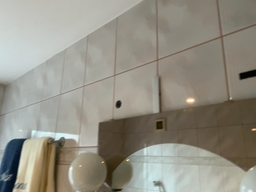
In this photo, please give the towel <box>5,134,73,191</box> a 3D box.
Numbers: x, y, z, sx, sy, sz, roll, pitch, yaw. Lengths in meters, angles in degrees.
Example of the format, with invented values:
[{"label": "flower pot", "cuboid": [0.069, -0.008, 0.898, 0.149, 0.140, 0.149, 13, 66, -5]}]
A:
[{"label": "towel", "cuboid": [-0.460, 0.420, 1.070, 0.310, 0.420, 0.170, -14, -22, 41]}]
